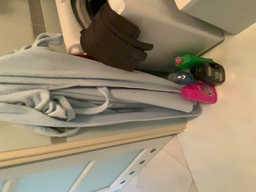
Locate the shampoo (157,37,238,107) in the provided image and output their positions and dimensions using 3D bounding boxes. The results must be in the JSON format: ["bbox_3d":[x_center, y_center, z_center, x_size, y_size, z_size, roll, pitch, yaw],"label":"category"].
[{"bbox_3d":[0.390,-0.120,1.210,0.240,0.300,0.290,-33,66,43],"label":"shampoo"}]
